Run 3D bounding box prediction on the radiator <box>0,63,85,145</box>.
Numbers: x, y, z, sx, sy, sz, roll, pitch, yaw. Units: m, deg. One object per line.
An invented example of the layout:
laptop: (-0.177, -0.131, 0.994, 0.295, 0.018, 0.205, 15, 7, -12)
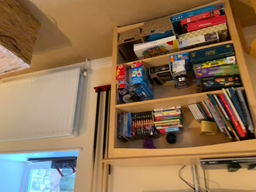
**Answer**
radiator: (-1.070, 0.110, 2.250, 1.250, 0.760, 0.100, -8, 154, 18)
